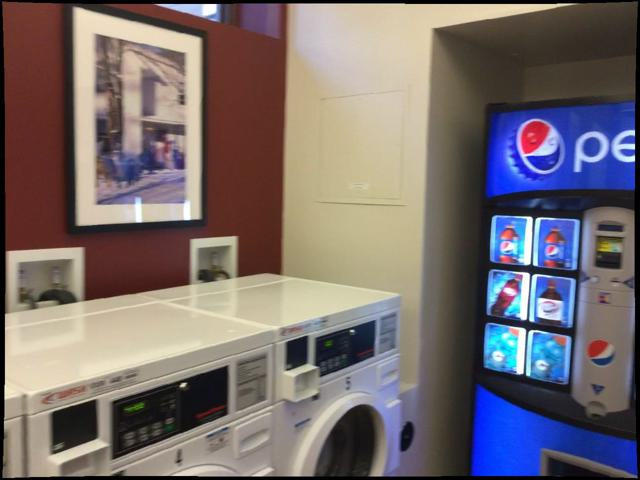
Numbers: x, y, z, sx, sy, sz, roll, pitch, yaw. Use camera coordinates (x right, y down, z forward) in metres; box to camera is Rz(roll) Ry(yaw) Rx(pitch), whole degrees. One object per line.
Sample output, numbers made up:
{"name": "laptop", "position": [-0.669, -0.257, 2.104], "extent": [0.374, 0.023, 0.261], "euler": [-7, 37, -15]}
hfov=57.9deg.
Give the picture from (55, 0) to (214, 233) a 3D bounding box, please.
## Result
{"name": "picture", "position": [-0.659, -0.440, 2.160], "extent": [0.070, 0.781, 0.600], "euler": [6, 9, 40]}
